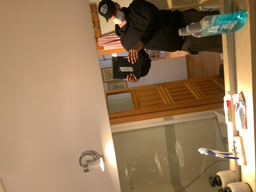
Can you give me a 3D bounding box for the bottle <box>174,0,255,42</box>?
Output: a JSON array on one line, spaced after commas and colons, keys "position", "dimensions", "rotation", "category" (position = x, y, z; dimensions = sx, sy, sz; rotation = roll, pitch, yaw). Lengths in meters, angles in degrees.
[{"position": [0.370, -0.320, 0.930], "dimensions": [0.170, 0.280, 0.120], "rotation": [-108, 10, -77], "category": "bottle"}]
